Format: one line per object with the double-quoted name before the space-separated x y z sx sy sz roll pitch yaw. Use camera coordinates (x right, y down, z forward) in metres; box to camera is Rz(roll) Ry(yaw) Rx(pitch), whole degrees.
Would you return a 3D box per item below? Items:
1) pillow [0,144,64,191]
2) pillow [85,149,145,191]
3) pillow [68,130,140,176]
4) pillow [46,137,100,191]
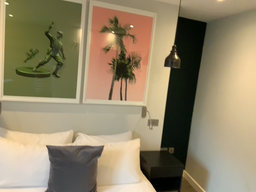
"pillow" -0.860 0.620 1.780 0.600 0.400 0.160 1 -8 -12
"pillow" -0.120 0.670 1.970 0.520 0.280 0.130 -1 -14 -26
"pillow" -0.250 0.580 2.220 0.710 0.400 0.170 4 -27 -25
"pillow" -0.440 0.610 1.750 0.370 0.440 0.260 5 9 -6
